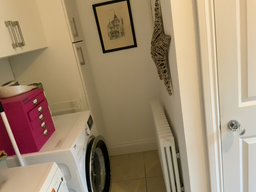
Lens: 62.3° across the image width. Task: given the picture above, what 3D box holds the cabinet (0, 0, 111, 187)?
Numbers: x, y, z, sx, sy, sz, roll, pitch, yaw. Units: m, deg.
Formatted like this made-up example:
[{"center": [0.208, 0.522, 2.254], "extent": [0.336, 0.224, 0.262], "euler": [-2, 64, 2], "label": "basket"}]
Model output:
[{"center": [-0.720, -0.250, 2.050], "extent": [0.620, 2.320, 0.440], "euler": [-9, 18, 3], "label": "cabinet"}]

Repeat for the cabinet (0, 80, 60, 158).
[{"center": [-0.750, 0.140, 1.380], "extent": [0.420, 0.330, 0.410], "euler": [-9, 18, 3], "label": "cabinet"}]
